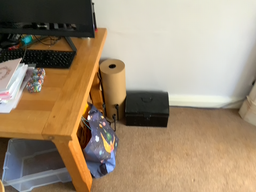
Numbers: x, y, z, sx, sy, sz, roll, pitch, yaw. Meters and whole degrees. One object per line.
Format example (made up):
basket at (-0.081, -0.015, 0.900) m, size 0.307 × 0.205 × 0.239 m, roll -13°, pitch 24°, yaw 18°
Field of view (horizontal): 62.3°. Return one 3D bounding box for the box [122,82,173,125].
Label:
box at (0.160, 0.060, 1.730) m, size 0.380 × 0.230 × 0.230 m, roll 5°, pitch 46°, yaw 6°
